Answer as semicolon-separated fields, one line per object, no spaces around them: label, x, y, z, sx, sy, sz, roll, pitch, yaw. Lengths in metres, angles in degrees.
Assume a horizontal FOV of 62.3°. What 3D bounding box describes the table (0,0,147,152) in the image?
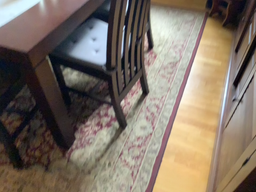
table;-0.500;-0.550;1.660;0.860;0.750;1.560;16;50;15

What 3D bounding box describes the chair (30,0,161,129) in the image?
chair;-0.140;-0.350;1.290;0.520;1.020;0.450;19;51;17

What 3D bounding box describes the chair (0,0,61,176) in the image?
chair;-0.810;-0.110;1.090;0.450;1.020;0.520;15;50;14
